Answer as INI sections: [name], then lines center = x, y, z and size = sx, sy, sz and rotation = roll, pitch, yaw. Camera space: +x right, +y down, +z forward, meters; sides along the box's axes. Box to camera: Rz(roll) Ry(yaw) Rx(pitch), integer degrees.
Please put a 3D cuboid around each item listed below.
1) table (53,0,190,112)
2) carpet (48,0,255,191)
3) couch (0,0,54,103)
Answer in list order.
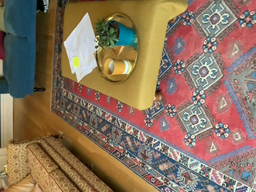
[table]
center = -0.160, -0.380, 1.680
size = 1.120, 0.350, 0.650
rotation = 22, 109, 43
[carpet]
center = -0.030, -0.360, 1.770
size = 2.750, 0.010, 1.860
rotation = 22, 109, 43
[couch]
center = -1.650, -0.830, 2.830
size = 0.990, 0.830, 1.580
rotation = 25, 111, 42
